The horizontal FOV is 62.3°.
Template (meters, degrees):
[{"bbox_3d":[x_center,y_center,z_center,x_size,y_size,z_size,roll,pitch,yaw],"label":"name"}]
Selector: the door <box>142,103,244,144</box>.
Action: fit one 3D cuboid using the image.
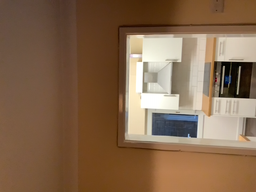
[{"bbox_3d":[1.360,0.590,4.610,0.090,2.080,0.780,-46,-42,-78],"label":"door"}]
